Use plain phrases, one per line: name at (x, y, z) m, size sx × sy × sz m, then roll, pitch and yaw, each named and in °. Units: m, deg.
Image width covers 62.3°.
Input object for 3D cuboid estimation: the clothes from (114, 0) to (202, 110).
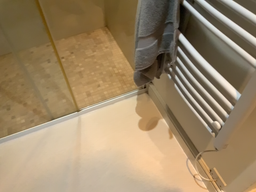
clothes at (0.090, -0.350, 0.740) m, size 0.220 × 0.950 × 0.250 m, roll -15°, pitch 53°, yaw -11°
